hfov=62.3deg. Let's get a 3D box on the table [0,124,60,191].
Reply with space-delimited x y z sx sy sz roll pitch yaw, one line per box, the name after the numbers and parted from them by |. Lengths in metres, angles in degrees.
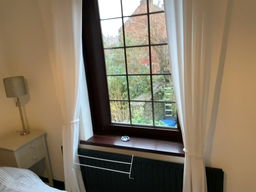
-1.110 0.760 2.300 0.430 0.760 0.430 1 15 23 | table
